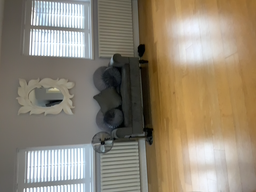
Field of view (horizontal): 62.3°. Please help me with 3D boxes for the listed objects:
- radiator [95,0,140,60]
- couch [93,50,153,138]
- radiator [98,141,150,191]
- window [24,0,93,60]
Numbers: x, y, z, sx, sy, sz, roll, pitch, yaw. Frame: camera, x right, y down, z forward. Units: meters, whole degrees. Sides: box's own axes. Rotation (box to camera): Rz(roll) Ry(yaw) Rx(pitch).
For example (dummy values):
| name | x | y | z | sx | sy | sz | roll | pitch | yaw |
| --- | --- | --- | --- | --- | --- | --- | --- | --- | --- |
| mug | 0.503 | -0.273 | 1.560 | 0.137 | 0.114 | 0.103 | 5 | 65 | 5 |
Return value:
| name | x | y | z | sx | sy | sz | roll | pitch | yaw |
| --- | --- | --- | --- | --- | --- | --- | --- | --- | --- |
| radiator | -0.200 | -1.260 | 3.930 | 0.090 | 0.790 | 1.170 | 137 | 132 | -71 |
| couch | -0.120 | -0.010 | 3.540 | 0.470 | 0.890 | 1.360 | 147 | 123 | -73 |
| radiator | -0.060 | 1.350 | 3.520 | 0.110 | 0.840 | 1.150 | 148 | 121 | -73 |
| window | -1.240 | -1.310 | 3.900 | 0.110 | 1.160 | 1.280 | 141 | 129 | -72 |
